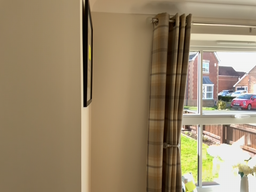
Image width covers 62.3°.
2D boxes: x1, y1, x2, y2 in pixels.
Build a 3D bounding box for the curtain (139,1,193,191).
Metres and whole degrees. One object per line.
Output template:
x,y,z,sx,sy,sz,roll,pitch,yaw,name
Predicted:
0.280,0.470,1.670,0.350,2.290,0.220,0,2,-4,curtain
